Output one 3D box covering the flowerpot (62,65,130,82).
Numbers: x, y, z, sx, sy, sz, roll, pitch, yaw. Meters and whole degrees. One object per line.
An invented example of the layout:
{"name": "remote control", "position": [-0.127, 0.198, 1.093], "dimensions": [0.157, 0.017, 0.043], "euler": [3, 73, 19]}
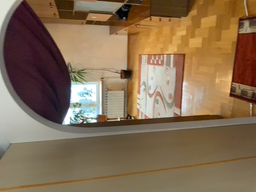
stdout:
{"name": "flowerpot", "position": [-0.880, -0.630, 5.800], "dimensions": [0.490, 1.760, 0.370], "euler": [-138, 48, -67]}
